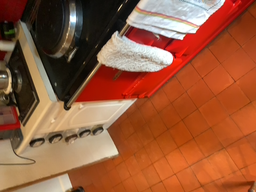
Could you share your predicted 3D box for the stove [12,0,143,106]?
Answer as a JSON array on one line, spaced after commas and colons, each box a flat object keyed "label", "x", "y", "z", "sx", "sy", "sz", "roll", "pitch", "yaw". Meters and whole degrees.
[{"label": "stove", "x": -0.260, "y": -0.520, "z": 1.000, "sx": 0.990, "sy": 0.120, "sz": 0.690, "roll": -45, "pitch": 63, "yaw": 34}]

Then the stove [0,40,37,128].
[{"label": "stove", "x": -0.740, "y": -0.080, "z": 1.400, "sx": 0.330, "sy": 0.020, "sz": 0.480, "roll": -46, "pitch": 62, "yaw": 33}]
